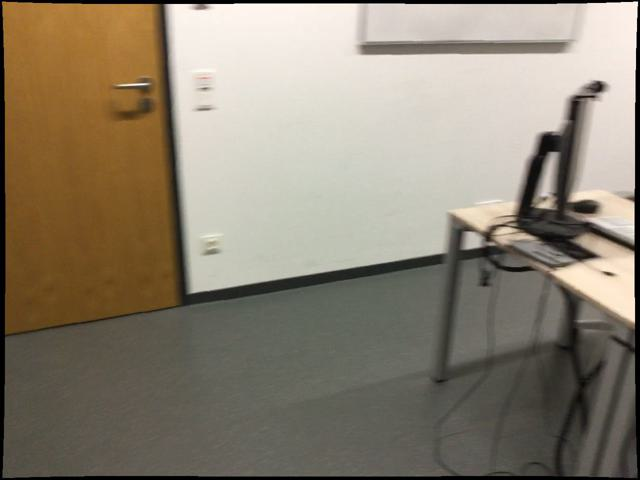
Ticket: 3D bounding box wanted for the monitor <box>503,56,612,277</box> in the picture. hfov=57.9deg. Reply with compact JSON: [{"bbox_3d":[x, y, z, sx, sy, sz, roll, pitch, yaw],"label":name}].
[{"bbox_3d":[0.729,-0.250,1.760,0.180,0.490,0.560,10,31,26],"label":"monitor"}]
